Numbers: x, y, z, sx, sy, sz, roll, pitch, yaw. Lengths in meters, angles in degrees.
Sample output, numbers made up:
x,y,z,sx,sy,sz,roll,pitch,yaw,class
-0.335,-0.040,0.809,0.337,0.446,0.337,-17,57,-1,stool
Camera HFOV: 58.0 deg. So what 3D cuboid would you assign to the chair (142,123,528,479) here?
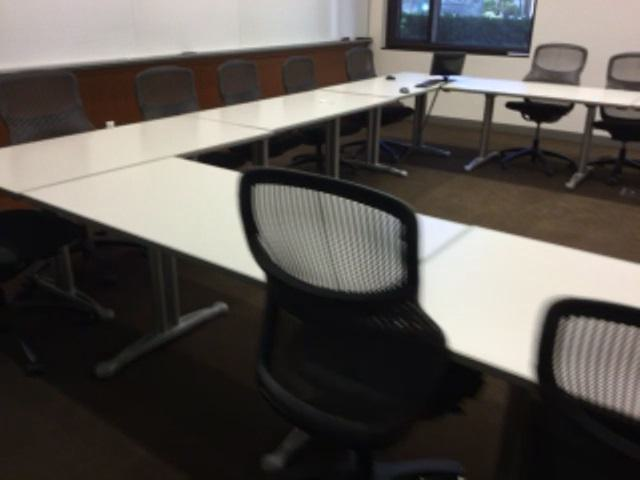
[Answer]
x,y,z,sx,sy,sz,roll,pitch,yaw,class
0.080,0.340,1.420,0.580,1.080,0.560,14,31,33,chair
